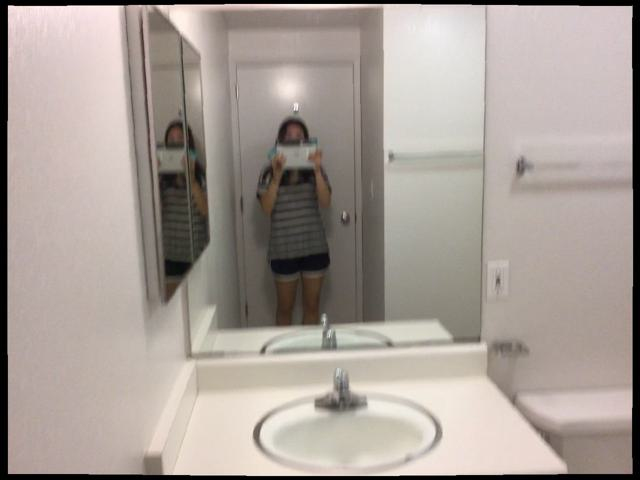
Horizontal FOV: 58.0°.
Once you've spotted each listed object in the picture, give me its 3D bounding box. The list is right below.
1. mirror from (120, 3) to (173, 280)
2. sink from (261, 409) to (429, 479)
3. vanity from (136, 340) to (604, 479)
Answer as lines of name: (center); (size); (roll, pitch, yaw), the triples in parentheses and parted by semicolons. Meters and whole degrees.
mirror: (-0.389, -0.210, 1.310); (0.060, 0.601, 0.080); (-1, 12, -4)
sink: (0.050, 0.601, 1.520); (0.399, 0.160, 0.290); (-1, 12, -5)
vanity: (0.100, 0.832, 1.630); (1.018, 0.882, 0.610); (-1, 12, -5)
